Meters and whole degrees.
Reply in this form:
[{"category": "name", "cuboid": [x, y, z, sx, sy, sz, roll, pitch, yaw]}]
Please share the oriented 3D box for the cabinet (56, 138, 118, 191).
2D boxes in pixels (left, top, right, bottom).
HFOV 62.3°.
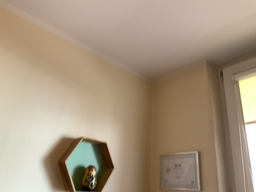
[{"category": "cabinet", "cuboid": [-0.210, 0.410, 1.170, 0.090, 0.280, 0.310, -18, -33, 41]}]
